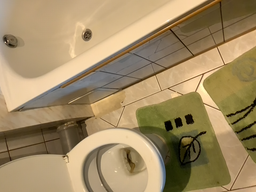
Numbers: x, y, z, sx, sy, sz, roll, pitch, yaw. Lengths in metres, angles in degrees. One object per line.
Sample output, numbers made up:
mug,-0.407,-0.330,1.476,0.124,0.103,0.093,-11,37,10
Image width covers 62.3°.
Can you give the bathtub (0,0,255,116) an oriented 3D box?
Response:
bathtub,0.080,-0.520,0.920,1.430,0.530,0.700,-25,81,22
